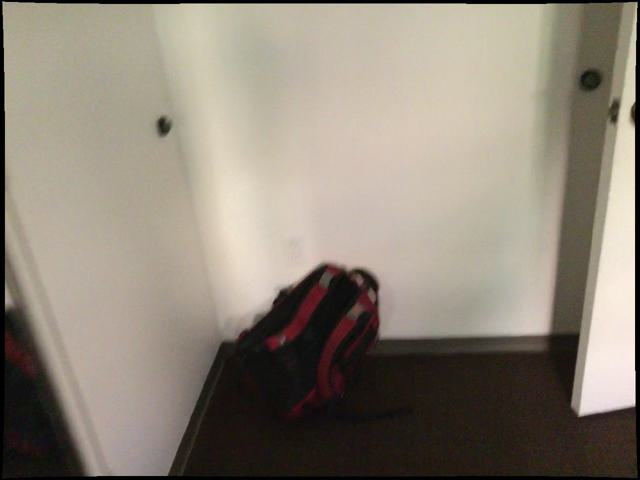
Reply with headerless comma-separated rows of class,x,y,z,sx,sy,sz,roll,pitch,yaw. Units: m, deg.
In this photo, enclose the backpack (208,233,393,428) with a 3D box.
backpack,-0.050,0.311,1.980,0.450,0.390,0.330,-34,18,21
